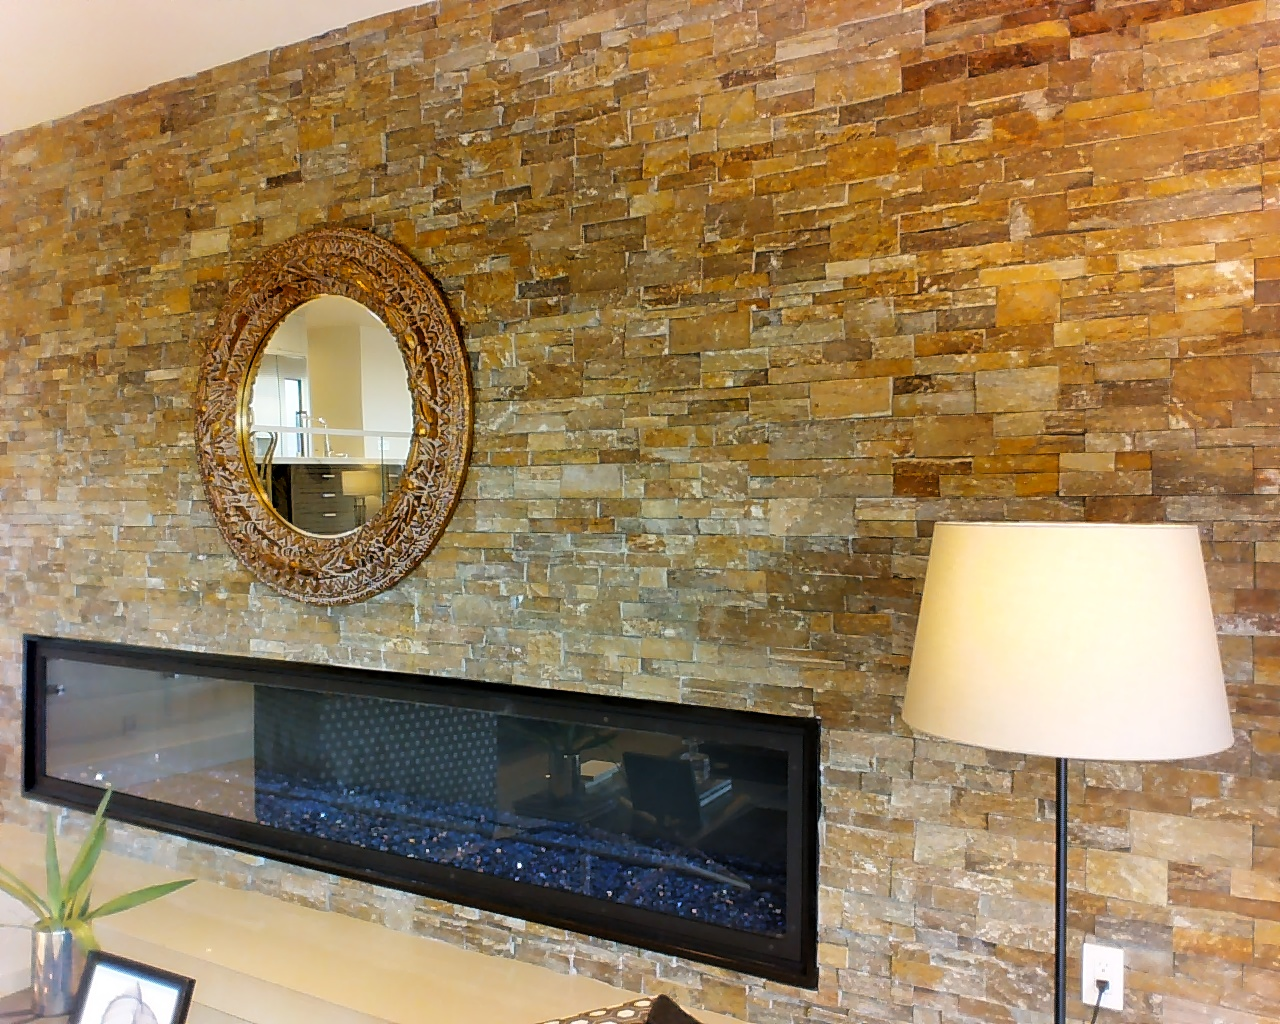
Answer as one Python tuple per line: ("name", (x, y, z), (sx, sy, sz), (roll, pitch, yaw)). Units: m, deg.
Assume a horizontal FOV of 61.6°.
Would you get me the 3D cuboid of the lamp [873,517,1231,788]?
("lamp", (0.590, 0.170, 1.530), (0.430, 0.320, 0.300), (1, 0, 30))
